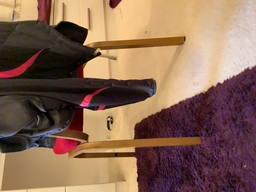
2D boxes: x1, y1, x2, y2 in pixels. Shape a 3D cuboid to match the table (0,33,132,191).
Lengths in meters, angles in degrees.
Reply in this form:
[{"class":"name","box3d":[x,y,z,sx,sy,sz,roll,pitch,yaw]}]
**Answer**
[{"class":"table","box3d":[-0.470,0.320,1.430,0.510,0.790,1.270,136,132,-57]}]
